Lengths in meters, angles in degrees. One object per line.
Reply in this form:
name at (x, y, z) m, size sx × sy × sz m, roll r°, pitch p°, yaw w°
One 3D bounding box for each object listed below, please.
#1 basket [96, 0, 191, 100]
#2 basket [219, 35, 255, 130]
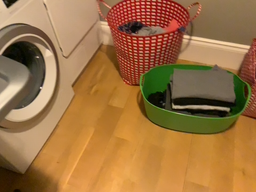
basket at (0.130, -0.330, 1.420) m, size 0.490 × 0.430 × 0.500 m, roll 7°, pitch 51°, yaw 10°
basket at (0.830, -0.060, 1.230) m, size 0.440 × 0.310 × 0.440 m, roll 15°, pitch 53°, yaw 16°
